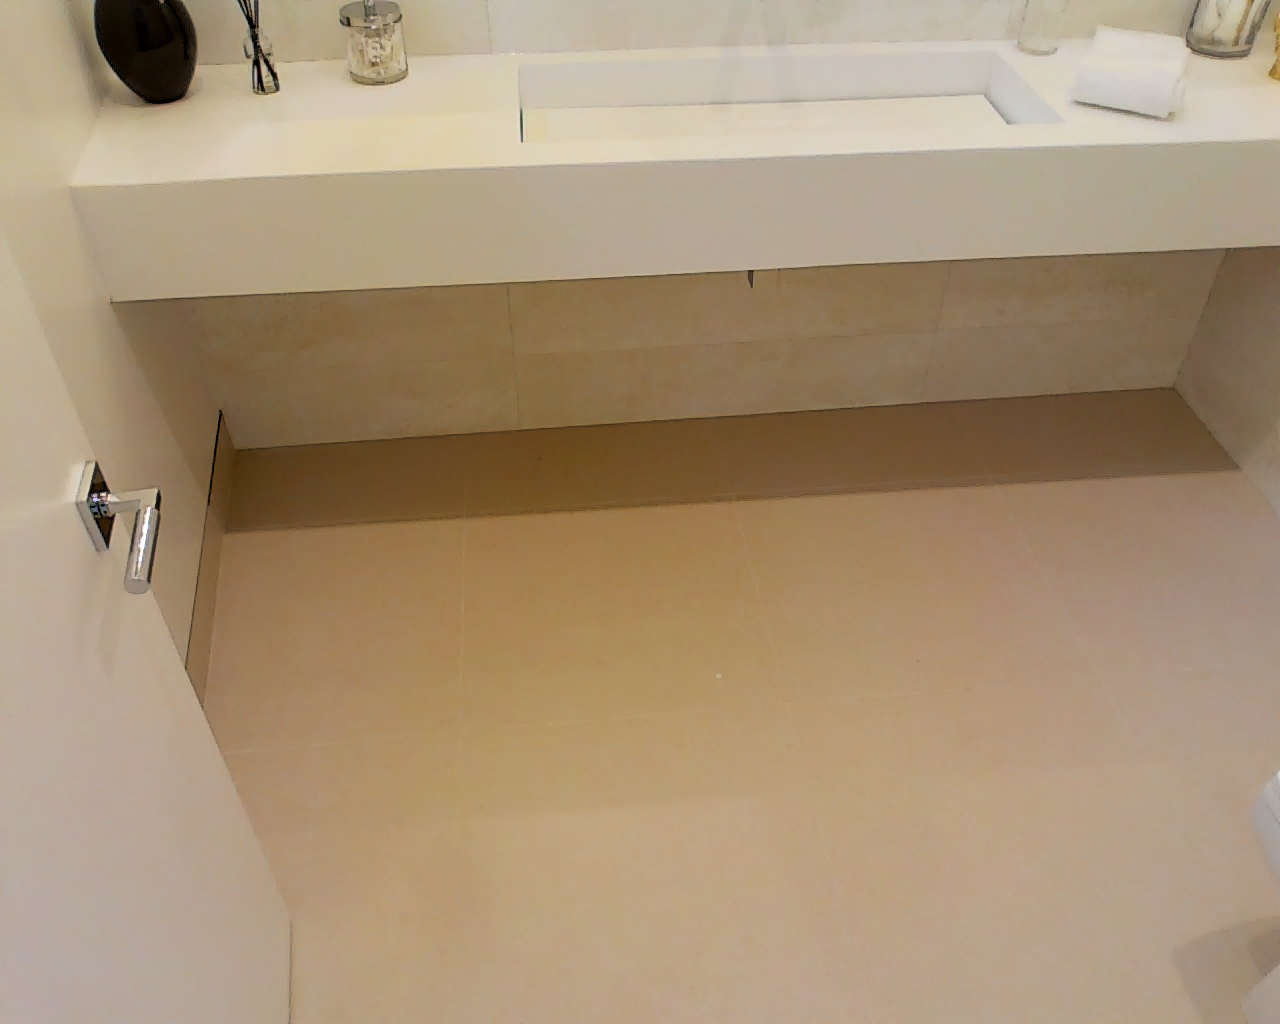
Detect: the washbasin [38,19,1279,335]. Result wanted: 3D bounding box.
[{"bbox_3d":[0.240,-0.640,1.960,2.330,0.270,0.510,-4,42,-4],"label":"washbasin"}]
